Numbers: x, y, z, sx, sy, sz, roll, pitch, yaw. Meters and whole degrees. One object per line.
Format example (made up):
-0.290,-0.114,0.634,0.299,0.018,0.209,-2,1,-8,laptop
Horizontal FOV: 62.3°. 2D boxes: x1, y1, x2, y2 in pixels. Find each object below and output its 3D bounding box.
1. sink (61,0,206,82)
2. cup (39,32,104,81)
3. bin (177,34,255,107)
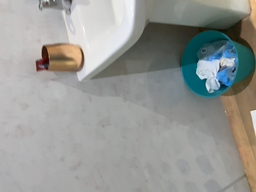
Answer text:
-0.060,-0.380,0.670,0.420,0.170,0.560,-25,76,54,sink
-0.190,-0.130,0.710,0.100,0.170,0.120,-23,78,54,cup
0.450,-0.120,1.060,0.210,0.290,0.290,-16,84,55,bin
